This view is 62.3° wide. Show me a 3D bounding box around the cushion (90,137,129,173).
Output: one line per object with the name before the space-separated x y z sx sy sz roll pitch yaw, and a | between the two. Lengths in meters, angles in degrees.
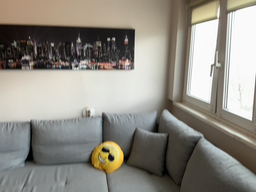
cushion | -0.190 0.570 2.100 0.350 0.220 0.300 0 12 -8

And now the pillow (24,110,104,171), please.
pillow | -0.620 0.450 2.190 0.710 0.500 0.290 -1 28 -11

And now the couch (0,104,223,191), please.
couch | -0.550 0.660 2.010 2.450 0.910 0.990 -1 12 -12
